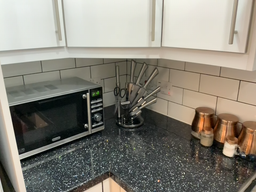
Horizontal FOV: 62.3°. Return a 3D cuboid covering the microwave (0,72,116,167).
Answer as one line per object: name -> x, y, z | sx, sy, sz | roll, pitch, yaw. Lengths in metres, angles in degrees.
microwave -> -0.340, 0.070, 1.060 | 0.480, 0.280, 0.280 | -15, 24, -38
